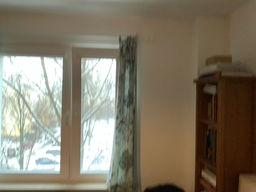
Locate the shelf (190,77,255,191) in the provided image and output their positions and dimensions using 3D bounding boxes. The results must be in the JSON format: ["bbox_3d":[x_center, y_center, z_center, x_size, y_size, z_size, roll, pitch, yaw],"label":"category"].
[{"bbox_3d":[0.810,0.800,1.910,0.300,1.880,0.560,1,0,-5],"label":"shelf"}]

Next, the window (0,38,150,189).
[{"bbox_3d":[-0.590,0.180,2.200,1.580,1.450,0.200,1,0,-5],"label":"window"}]
